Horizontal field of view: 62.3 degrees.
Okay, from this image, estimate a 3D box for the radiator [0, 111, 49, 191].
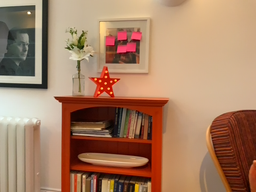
[{"bbox_3d":[-1.220,0.550,1.830,1.020,0.820,0.240,2,3,10],"label":"radiator"}]
